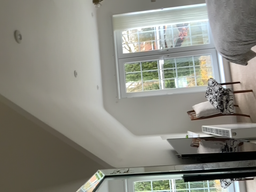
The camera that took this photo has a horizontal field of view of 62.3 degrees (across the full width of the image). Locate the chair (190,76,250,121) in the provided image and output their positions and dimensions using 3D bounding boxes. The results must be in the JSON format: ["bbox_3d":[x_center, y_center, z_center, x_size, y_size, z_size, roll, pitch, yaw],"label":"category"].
[{"bbox_3d":[1.490,0.040,3.540,0.440,0.780,0.560,-86,-10,-67],"label":"chair"}]

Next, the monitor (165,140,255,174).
[{"bbox_3d":[0.620,0.450,1.670,0.790,0.580,0.040,29,-124,-85],"label":"monitor"}]

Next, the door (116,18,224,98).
[{"bbox_3d":[0.820,-0.770,4.320,0.050,2.030,1.430,34,-129,-85],"label":"door"}]
